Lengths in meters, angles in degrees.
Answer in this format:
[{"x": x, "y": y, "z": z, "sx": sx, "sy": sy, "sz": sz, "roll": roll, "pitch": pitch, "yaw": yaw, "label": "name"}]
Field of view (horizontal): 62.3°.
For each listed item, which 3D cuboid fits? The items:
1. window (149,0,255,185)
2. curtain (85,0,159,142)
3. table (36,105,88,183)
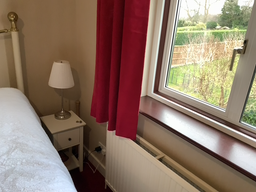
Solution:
[{"x": 0.590, "y": -0.350, "z": 1.120, "sx": 0.080, "sy": 1.550, "sz": 1.050, "roll": -12, "pitch": 27, "yaw": -37, "label": "window"}, {"x": -0.040, "y": -0.700, "z": 1.180, "sx": 0.170, "sy": 1.930, "sz": 0.470, "roll": -13, "pitch": 28, "yaw": -38, "label": "curtain"}, {"x": -0.660, "y": 0.450, "z": 2.120, "sx": 0.330, "sy": 0.540, "sz": 0.440, "roll": -13, "pitch": 27, "yaw": -38, "label": "table"}]
